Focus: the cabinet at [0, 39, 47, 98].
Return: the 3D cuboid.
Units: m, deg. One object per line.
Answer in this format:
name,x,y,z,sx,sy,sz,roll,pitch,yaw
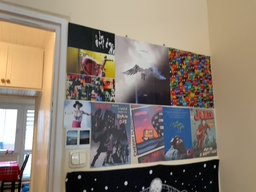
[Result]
cabinet,-1.540,-0.330,2.730,0.800,0.560,0.650,5,-11,-29
